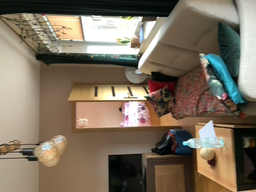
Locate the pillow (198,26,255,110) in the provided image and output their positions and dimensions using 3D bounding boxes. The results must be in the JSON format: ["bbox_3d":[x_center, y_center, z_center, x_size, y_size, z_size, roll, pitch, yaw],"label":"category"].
[{"bbox_3d":[0.760,-0.170,1.610,0.430,0.260,0.550,148,122,-81],"label":"pillow"}]
